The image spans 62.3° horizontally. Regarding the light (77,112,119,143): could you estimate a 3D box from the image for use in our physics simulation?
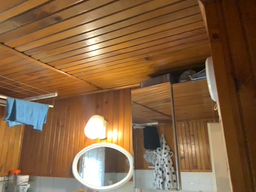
[{"bbox_3d":[-0.220,0.260,1.660,0.170,0.190,0.330,-7,-18,24],"label":"light"}]
